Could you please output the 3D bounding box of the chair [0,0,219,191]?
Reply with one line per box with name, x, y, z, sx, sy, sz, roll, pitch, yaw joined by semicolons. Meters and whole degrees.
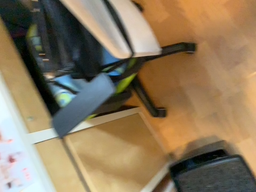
chair;-0.180;-0.170;0.810;0.670;0.900;0.700;-31;80;25
